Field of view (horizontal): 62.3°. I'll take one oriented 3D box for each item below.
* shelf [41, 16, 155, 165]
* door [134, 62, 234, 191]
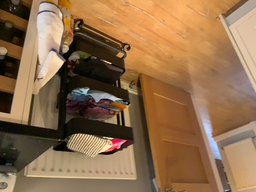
[{"bbox_3d":[-0.220,-0.010,1.460,0.540,0.830,0.400,17,142,-36],"label":"shelf"},{"bbox_3d":[0.530,0.700,1.700,0.740,2.070,0.190,14,144,-33],"label":"door"}]
